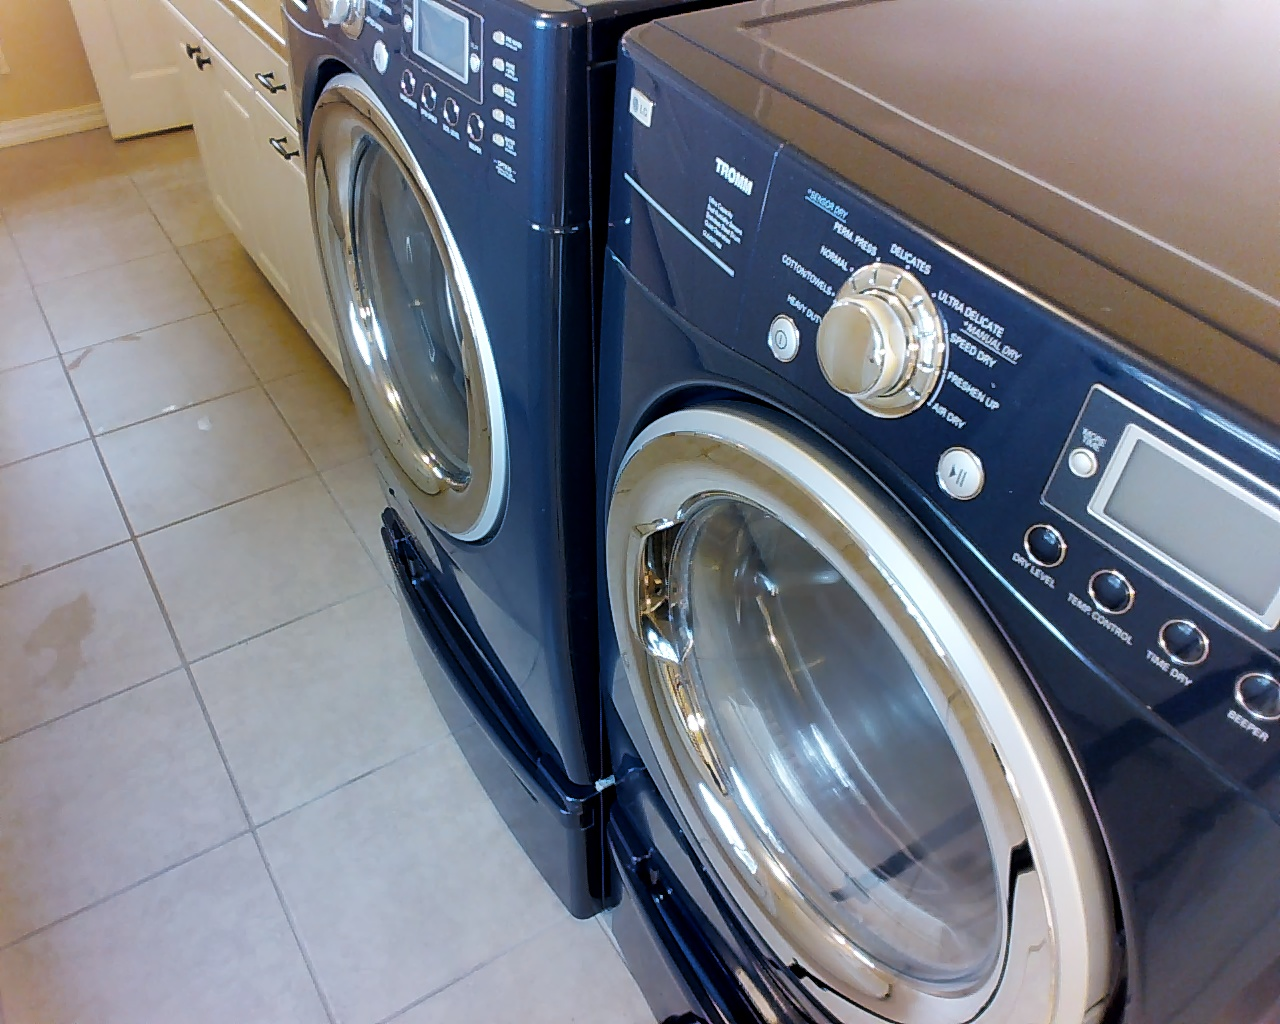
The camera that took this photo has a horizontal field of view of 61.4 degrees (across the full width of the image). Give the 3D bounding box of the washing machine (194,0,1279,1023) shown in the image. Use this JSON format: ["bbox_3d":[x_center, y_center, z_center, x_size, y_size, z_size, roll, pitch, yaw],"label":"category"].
[{"bbox_3d":[0.240,0.030,1.350,0.900,1.360,1.460,-23,47,-24],"label":"washing machine"}]
